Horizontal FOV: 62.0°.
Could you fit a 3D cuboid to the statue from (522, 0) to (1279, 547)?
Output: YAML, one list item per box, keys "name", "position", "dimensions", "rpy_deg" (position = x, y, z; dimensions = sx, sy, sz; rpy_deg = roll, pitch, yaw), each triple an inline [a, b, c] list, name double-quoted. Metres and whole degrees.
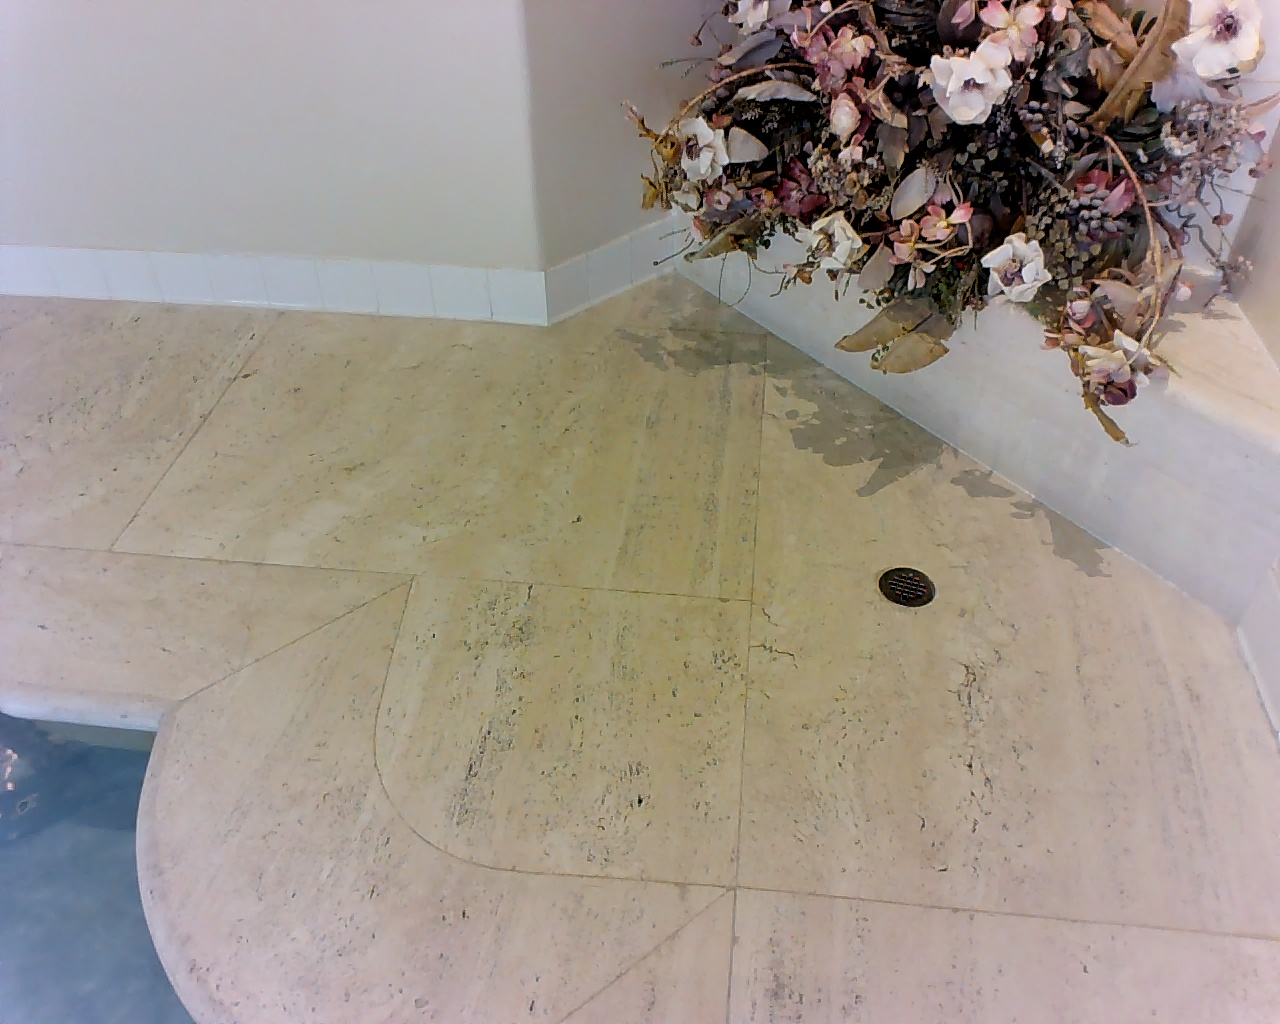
- name: "statue"
  position: [0.520, -0.900, 2.070]
  dimensions: [0.810, 1.120, 1.470]
  rpy_deg: [-28, 47, -28]
